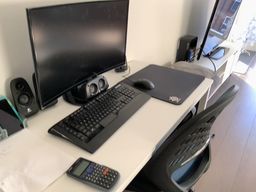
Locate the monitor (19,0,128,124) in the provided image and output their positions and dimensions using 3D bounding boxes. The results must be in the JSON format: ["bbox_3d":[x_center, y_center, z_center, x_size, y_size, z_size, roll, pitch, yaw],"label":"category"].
[{"bbox_3d":[-0.180,-0.210,1.010,0.040,0.440,0.630,17,32,25],"label":"monitor"}]
